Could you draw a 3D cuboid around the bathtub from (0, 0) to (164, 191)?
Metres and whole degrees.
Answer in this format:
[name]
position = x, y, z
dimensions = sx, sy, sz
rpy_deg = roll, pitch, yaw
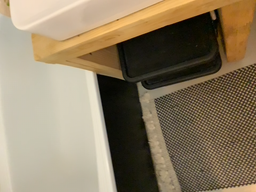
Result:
[bathtub]
position = -0.320, 0.020, 1.260
dimensions = 0.680, 0.560, 1.350
rpy_deg = -15, 80, 24
